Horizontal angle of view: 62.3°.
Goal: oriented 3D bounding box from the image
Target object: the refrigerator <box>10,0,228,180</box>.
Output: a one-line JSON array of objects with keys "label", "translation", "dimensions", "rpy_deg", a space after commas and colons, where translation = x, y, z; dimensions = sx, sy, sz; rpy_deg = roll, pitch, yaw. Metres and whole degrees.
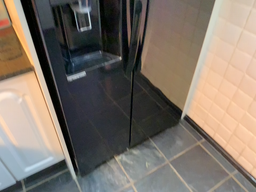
[{"label": "refrigerator", "translation": [-0.050, -0.410, 1.190], "dimensions": [0.960, 1.750, 0.600], "rpy_deg": [-23, 49, -23]}]
